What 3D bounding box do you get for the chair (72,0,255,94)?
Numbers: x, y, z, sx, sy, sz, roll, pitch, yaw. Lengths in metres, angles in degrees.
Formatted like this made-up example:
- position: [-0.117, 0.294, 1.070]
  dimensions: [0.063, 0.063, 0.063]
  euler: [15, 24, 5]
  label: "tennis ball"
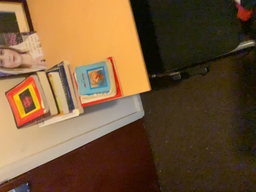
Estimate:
- position: [0.240, -0.350, 0.830]
  dimensions: [0.530, 0.710, 0.490]
  euler: [-13, 92, 34]
  label: "chair"
